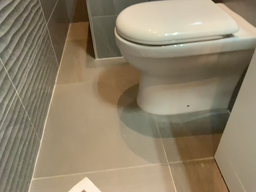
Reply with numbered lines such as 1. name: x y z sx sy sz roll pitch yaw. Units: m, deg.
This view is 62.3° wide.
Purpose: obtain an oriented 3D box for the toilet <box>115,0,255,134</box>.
1. toilet: 0.220 -0.160 0.990 0.510 0.470 0.420 -5 41 -3
